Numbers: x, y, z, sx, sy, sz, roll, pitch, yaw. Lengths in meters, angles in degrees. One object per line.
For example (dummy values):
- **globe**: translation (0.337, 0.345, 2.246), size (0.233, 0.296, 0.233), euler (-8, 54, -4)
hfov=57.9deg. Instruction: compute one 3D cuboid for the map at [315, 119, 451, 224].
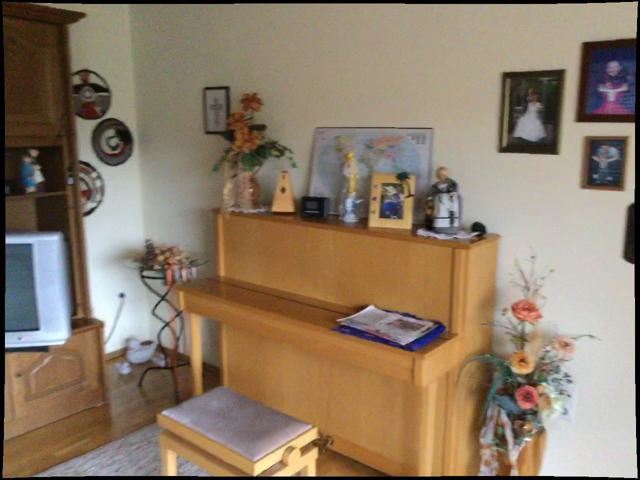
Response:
- **map**: translation (0.270, -0.340, 2.720), size (0.690, 0.430, 0.070), euler (11, 16, 37)
